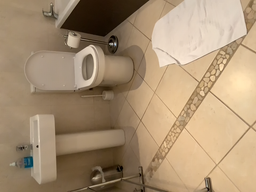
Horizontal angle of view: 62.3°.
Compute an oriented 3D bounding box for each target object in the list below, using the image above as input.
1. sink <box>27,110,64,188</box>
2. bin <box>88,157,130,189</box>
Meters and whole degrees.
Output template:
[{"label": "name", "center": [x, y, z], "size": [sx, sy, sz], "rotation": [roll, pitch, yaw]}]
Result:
[{"label": "sink", "center": [-0.720, 0.420, 1.810], "size": [0.440, 0.190, 0.560], "rotation": [-13, 79, 56]}, {"label": "bin", "center": [-0.200, 0.790, 2.220], "size": [0.200, 0.380, 0.220], "rotation": [-14, 78, 55]}]
